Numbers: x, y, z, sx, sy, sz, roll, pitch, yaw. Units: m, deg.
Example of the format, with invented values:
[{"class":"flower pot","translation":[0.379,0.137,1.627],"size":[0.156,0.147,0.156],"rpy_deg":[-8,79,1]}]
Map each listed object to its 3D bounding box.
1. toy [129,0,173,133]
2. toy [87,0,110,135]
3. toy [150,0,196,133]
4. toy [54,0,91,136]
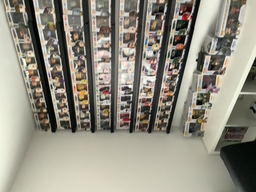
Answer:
[{"class":"toy","translation":[0.180,-0.380,1.830],"size":[0.190,0.230,1.720],"rpy_deg":[-94,7,-57]},{"class":"toy","translation":[-0.240,-0.390,1.810],"size":[0.180,0.160,1.810],"rpy_deg":[-94,7,-55]},{"class":"toy","translation":[0.390,-0.390,1.850],"size":[0.190,0.140,1.810],"rpy_deg":[-94,7,-54]},{"class":"toy","translation":[-0.450,-0.370,1.810],"size":[0.210,0.200,1.730],"rpy_deg":[-94,7,-57]}]
